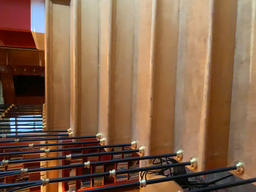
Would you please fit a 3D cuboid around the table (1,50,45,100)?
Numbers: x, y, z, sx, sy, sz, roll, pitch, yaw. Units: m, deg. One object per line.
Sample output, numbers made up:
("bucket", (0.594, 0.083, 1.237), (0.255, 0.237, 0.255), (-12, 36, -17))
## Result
("table", (-2.140, -0.440, 4.430), (0.620, 0.730, 0.820), (112, 149, -43))
